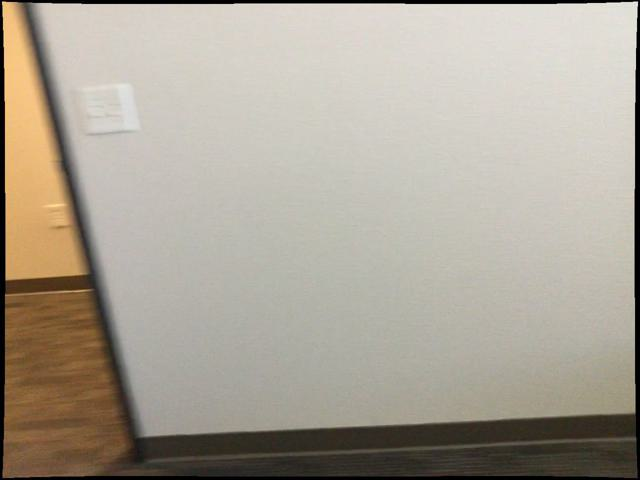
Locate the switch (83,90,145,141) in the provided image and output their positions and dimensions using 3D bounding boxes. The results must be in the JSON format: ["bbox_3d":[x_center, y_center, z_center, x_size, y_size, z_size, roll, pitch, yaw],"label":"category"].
[{"bbox_3d":[-0.529,-0.320,1.490,0.130,0.120,0.030,-1,25,5],"label":"switch"}]
